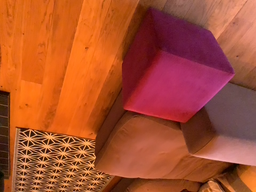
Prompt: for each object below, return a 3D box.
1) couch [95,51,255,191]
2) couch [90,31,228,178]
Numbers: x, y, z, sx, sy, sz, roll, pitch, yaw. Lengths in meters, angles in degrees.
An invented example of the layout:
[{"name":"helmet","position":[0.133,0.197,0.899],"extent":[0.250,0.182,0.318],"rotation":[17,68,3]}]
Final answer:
[{"name":"couch","position":[0.560,1.050,2.350],"extent":[1.210,0.750,2.950],"rotation":[13,135,-19]},{"name":"couch","position":[0.100,0.170,1.580],"extent":[0.480,0.430,1.100],"rotation":[13,135,-19]}]
